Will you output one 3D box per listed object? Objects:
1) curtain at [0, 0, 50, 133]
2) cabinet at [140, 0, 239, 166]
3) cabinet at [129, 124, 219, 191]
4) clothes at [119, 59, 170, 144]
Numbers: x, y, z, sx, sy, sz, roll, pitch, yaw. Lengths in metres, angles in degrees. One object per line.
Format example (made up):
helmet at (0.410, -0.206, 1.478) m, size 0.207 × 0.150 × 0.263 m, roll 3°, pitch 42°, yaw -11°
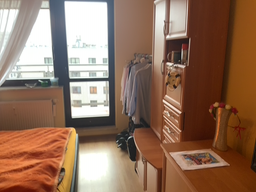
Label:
curtain at (-2.050, -0.520, 2.950) m, size 1.640 × 2.170 × 0.180 m, roll -2°, pitch 13°, yaw -11°
cabinet at (0.460, -0.300, 1.950) m, size 0.490 × 1.540 × 0.850 m, roll -1°, pitch 13°, yaw -9°
cabinet at (0.390, 0.750, 2.190) m, size 0.610 × 0.620 × 0.830 m, roll -2°, pitch 13°, yaw -10°
clothes at (0.160, -0.030, 3.140) m, size 0.440 × 0.950 × 1.290 m, roll -1°, pitch 13°, yaw -9°
